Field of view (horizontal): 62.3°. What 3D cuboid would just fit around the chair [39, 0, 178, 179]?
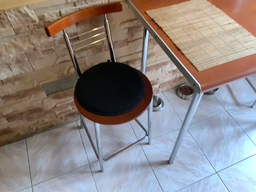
[{"bbox_3d":[-0.100,0.020,1.130,0.400,0.840,0.440,-18,54,-14],"label":"chair"}]
